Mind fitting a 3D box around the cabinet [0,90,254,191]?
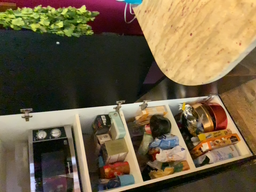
[{"bbox_3d":[-0.210,0.380,1.320,0.520,1.960,0.520,119,139,-50],"label":"cabinet"}]
